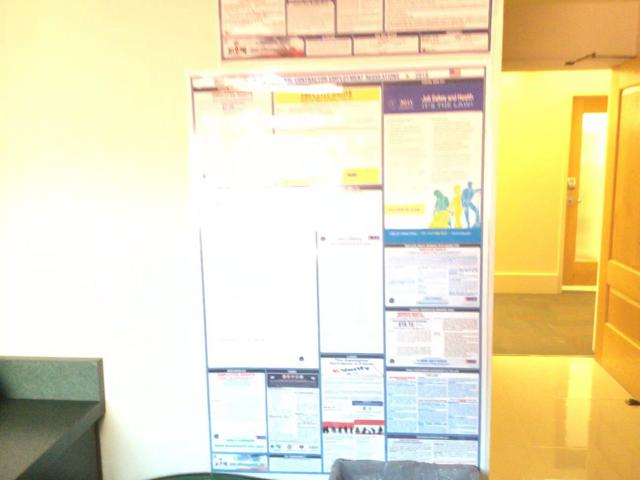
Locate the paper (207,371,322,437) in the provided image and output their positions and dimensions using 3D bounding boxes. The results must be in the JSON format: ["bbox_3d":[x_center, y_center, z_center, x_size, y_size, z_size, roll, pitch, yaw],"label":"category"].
[{"bbox_3d":[-0.130,0.390,1.370,0.260,0.150,0.020,-3,10,3],"label":"paper"}]

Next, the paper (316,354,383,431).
[{"bbox_3d":[0.070,0.360,1.360,0.150,0.180,0.020,-3,10,3],"label":"paper"}]

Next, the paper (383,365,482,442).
[{"bbox_3d":[0.260,0.380,1.340,0.220,0.170,0.030,-3,10,3],"label":"paper"}]

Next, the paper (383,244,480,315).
[{"bbox_3d":[0.250,0.090,1.300,0.210,0.150,0.020,-3,10,3],"label":"paper"}]
